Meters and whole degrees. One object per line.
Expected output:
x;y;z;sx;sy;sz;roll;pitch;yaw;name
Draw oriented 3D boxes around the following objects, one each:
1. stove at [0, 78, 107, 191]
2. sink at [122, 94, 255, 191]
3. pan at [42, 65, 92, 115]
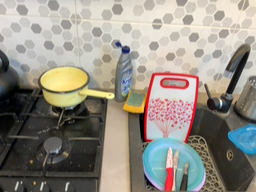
-0.390;0.100;0.700;0.610;0.020;0.550;2;36;-3;stove
0.180;0.230;0.780;0.390;0.240;0.460;2;36;-3;sink
-0.220;-0.030;0.810;0.140;0.090;0.200;2;36;-4;pan
